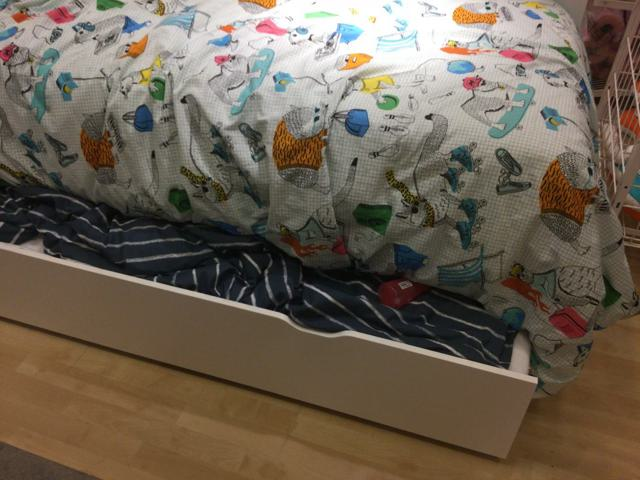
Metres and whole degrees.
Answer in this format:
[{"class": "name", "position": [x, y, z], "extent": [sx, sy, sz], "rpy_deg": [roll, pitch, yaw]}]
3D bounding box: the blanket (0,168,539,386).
[{"class": "blanket", "position": [-0.370, 0.030, 1.450], "extent": [1.720, 0.150, 0.250], "rpy_deg": [10, 44, 14]}]
